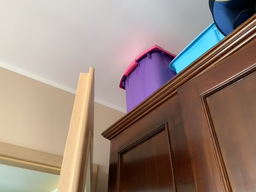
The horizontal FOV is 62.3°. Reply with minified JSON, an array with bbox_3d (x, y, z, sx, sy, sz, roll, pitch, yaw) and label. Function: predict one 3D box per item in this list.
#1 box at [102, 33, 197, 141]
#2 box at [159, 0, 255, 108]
[{"bbox_3d":[0.100,-0.030,1.270,0.280,0.390,0.460,25,-44,-28],"label":"box"},{"bbox_3d":[0.370,-0.230,1.030,0.220,0.410,0.350,24,-44,-27],"label":"box"}]
